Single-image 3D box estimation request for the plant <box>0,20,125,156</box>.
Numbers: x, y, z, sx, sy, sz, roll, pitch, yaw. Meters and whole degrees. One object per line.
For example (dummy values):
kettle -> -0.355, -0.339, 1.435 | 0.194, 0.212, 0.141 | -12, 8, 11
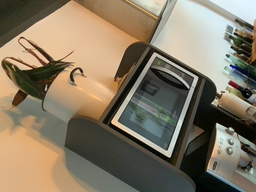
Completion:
plant -> -0.380, -0.040, 1.060 | 0.330, 0.590, 0.300 | -59, -1, -42
